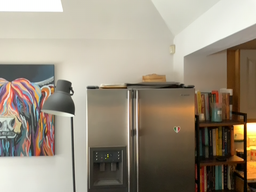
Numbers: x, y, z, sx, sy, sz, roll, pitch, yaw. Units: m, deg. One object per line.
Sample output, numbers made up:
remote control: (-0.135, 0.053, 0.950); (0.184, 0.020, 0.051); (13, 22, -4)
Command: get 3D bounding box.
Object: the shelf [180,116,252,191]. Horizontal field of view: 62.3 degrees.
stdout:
shelf: (0.830, 0.930, 2.080); (0.490, 1.400, 0.440); (-1, 2, -6)
